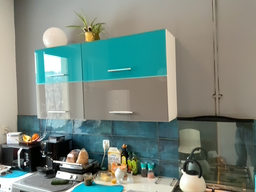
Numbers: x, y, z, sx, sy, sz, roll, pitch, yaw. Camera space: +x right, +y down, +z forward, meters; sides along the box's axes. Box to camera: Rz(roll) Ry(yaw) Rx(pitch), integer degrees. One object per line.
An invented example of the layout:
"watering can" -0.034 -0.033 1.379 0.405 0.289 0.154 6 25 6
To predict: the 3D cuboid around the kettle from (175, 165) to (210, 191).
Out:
"kettle" 0.520 0.670 1.690 0.240 0.130 0.250 -1 1 24
